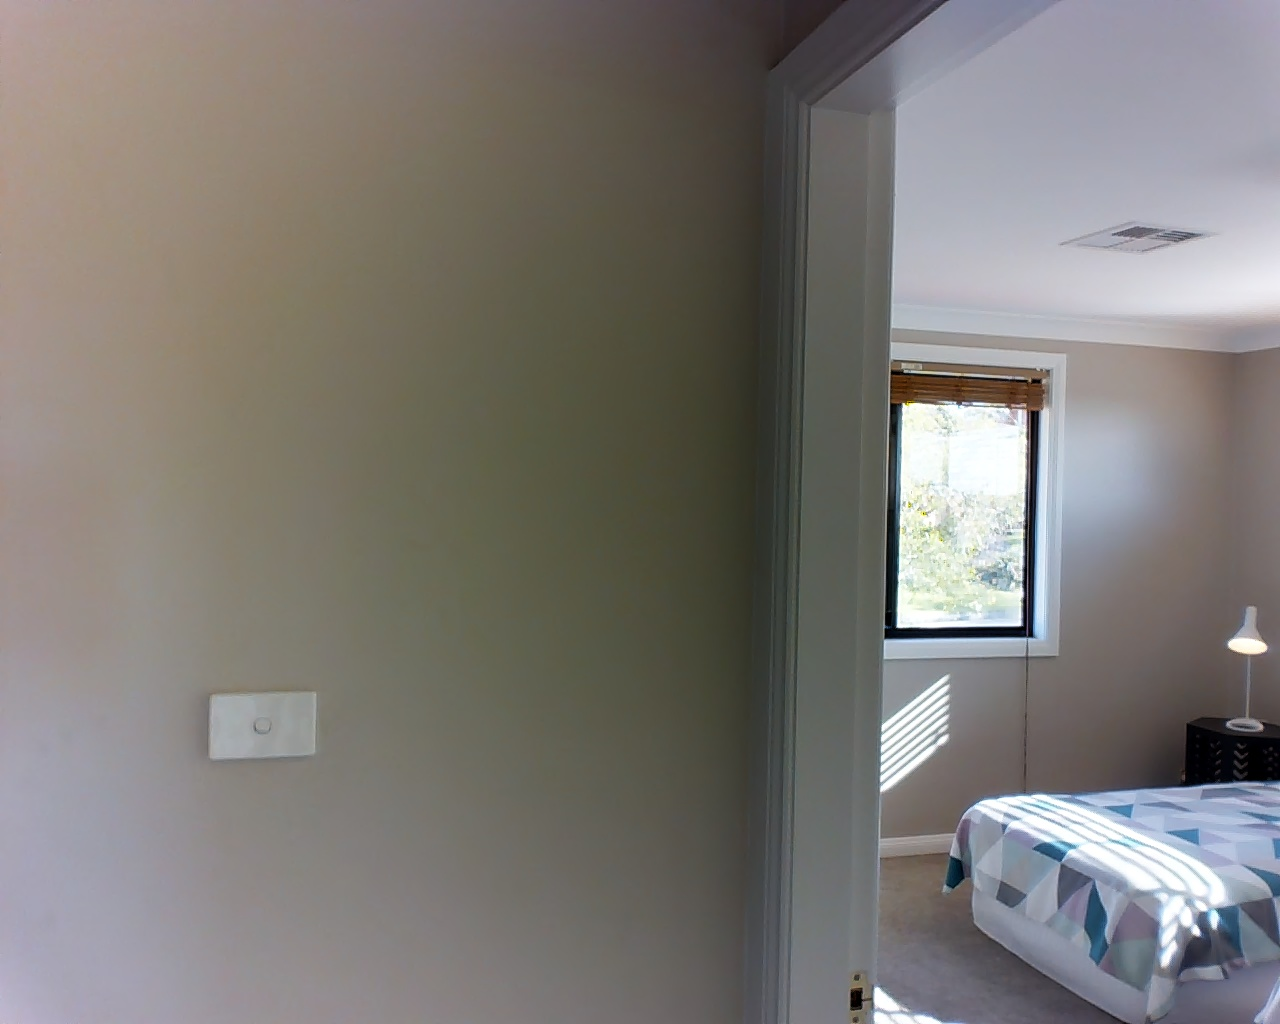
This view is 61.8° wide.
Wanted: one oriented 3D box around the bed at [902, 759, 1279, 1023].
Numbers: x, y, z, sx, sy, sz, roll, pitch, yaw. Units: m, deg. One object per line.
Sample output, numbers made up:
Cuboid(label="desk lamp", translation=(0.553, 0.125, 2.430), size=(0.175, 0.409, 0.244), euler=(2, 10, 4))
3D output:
Cuboid(label="bed", translation=(2.189, 1.310, 3.800), size=(2.069, 0.490, 1.280), euler=(2, 0, -18))

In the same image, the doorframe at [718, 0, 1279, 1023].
Cuboid(label="doorframe", translation=(0.330, 0.470, 1.010), size=(0.200, 2.101, 0.880), euler=(2, 0, -17))
